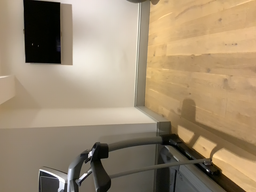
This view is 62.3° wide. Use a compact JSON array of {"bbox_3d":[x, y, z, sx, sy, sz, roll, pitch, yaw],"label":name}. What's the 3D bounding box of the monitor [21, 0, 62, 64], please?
[{"bbox_3d":[-1.280,-0.940,3.170,0.060,0.520,0.910,-145,55,-72],"label":"monitor"}]
